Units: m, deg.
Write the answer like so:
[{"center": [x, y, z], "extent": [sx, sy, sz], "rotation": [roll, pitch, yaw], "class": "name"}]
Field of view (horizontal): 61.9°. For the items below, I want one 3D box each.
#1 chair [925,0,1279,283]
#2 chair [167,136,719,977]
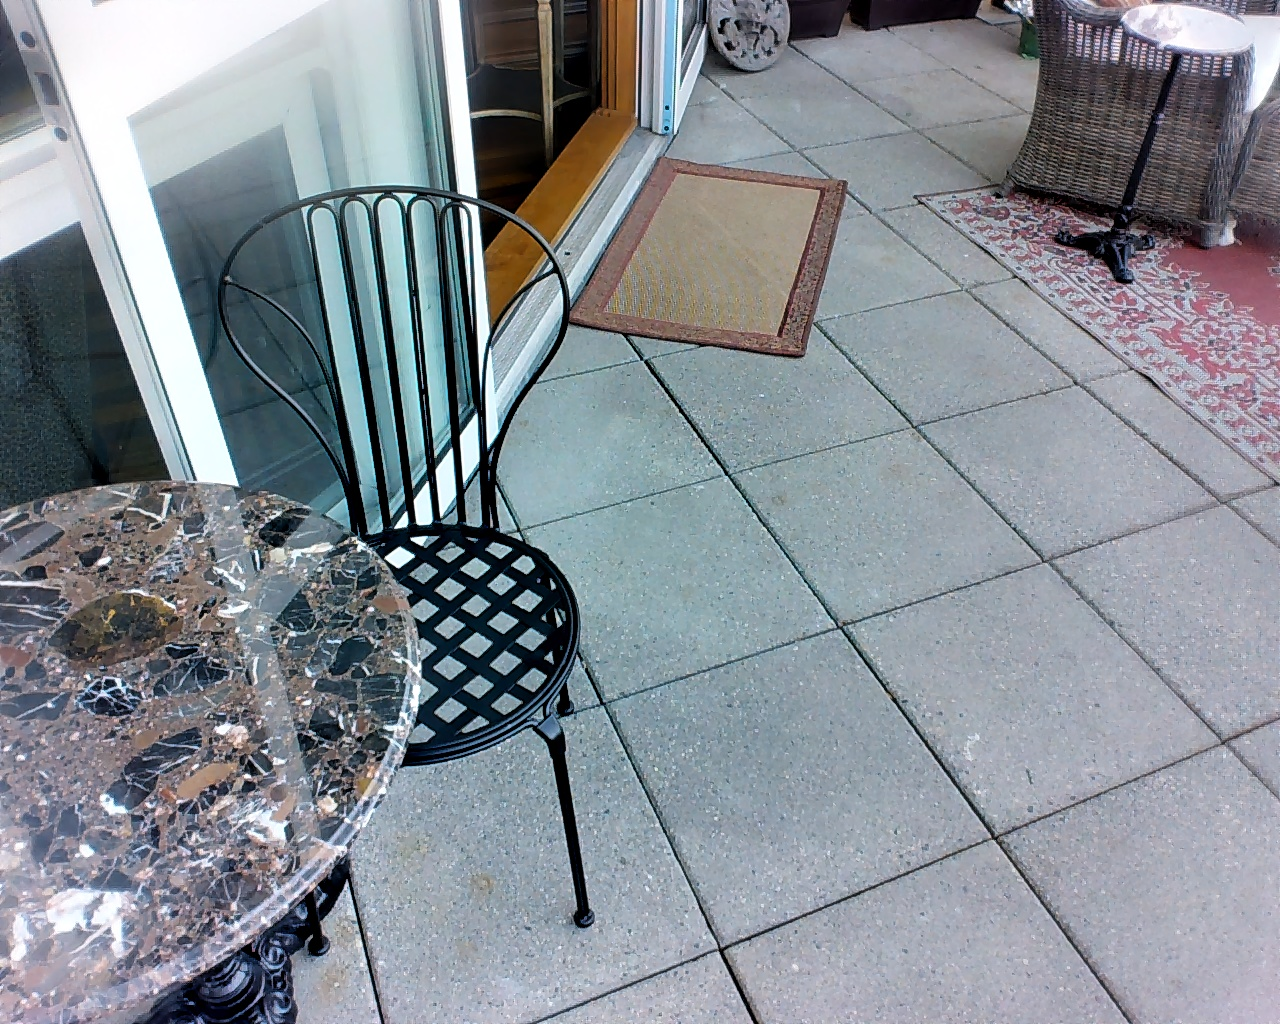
[{"center": [1.720, -1.340, 2.900], "extent": [1.460, 1.050, 0.810], "rotation": [25, 47, 24], "class": "chair"}, {"center": [-0.240, 0.080, 1.400], "extent": [0.450, 0.900, 0.530], "rotation": [-14, 44, -16], "class": "chair"}]
